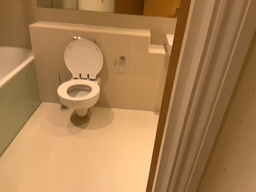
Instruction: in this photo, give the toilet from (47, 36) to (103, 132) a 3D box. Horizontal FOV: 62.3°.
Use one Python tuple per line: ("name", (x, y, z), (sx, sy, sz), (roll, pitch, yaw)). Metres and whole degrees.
("toilet", (-0.470, -0.120, 2.080), (0.380, 0.770, 0.490), (4, 31, -2))
